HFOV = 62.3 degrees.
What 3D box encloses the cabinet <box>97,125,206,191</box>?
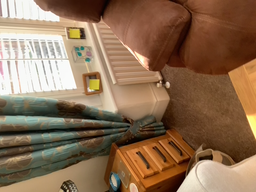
[{"bbox_3d":[0.150,0.600,1.580,0.360,0.570,0.560,47,134,40],"label":"cabinet"}]
